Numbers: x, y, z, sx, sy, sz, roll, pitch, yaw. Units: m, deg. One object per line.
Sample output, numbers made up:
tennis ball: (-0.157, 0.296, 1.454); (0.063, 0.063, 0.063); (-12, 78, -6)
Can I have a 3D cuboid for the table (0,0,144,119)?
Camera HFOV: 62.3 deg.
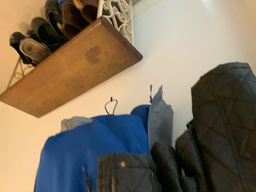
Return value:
table: (-0.330, -0.250, 1.120); (0.770, 0.460, 0.270); (-24, 139, 27)
